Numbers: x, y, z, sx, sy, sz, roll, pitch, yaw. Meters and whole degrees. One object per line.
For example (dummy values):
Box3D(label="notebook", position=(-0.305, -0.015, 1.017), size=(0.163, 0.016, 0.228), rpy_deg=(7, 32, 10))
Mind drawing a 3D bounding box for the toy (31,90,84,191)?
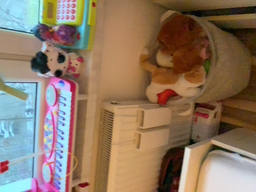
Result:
Box3D(label="toy", position=(-0.310, 0.280, 0.880), size=(0.210, 0.080, 0.570), rpy_deg=(22, 107, 43))
